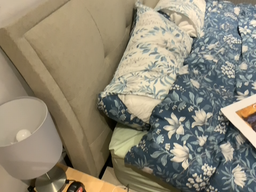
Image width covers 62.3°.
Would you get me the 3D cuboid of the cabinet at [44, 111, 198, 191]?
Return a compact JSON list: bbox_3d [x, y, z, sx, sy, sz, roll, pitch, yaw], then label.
[{"bbox_3d":[0.010,0.470,1.020,0.470,0.560,0.430,15,47,19],"label":"cabinet"}]
